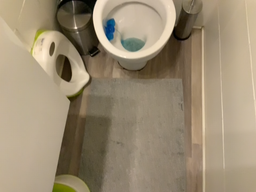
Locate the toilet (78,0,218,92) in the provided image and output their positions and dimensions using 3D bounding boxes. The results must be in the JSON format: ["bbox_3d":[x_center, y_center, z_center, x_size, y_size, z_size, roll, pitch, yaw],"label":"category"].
[{"bbox_3d":[0.070,-0.440,0.960,0.370,0.730,0.610,4,71,1],"label":"toilet"}]
